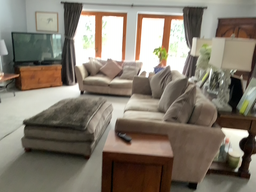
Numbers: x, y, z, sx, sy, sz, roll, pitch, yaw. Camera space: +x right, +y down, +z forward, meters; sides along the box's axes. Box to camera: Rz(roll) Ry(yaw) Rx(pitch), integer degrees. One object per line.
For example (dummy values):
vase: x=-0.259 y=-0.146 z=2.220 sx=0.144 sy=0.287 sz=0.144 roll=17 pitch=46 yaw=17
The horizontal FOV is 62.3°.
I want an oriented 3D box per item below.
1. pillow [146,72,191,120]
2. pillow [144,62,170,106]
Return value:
pillow: x=0.540 y=-0.020 z=2.920 sx=0.190 sy=0.480 sz=0.530 roll=20 pitch=96 yaw=-26
pillow: x=0.480 y=-0.190 z=3.550 sx=0.120 sy=0.560 sz=0.560 roll=18 pitch=63 yaw=-15
